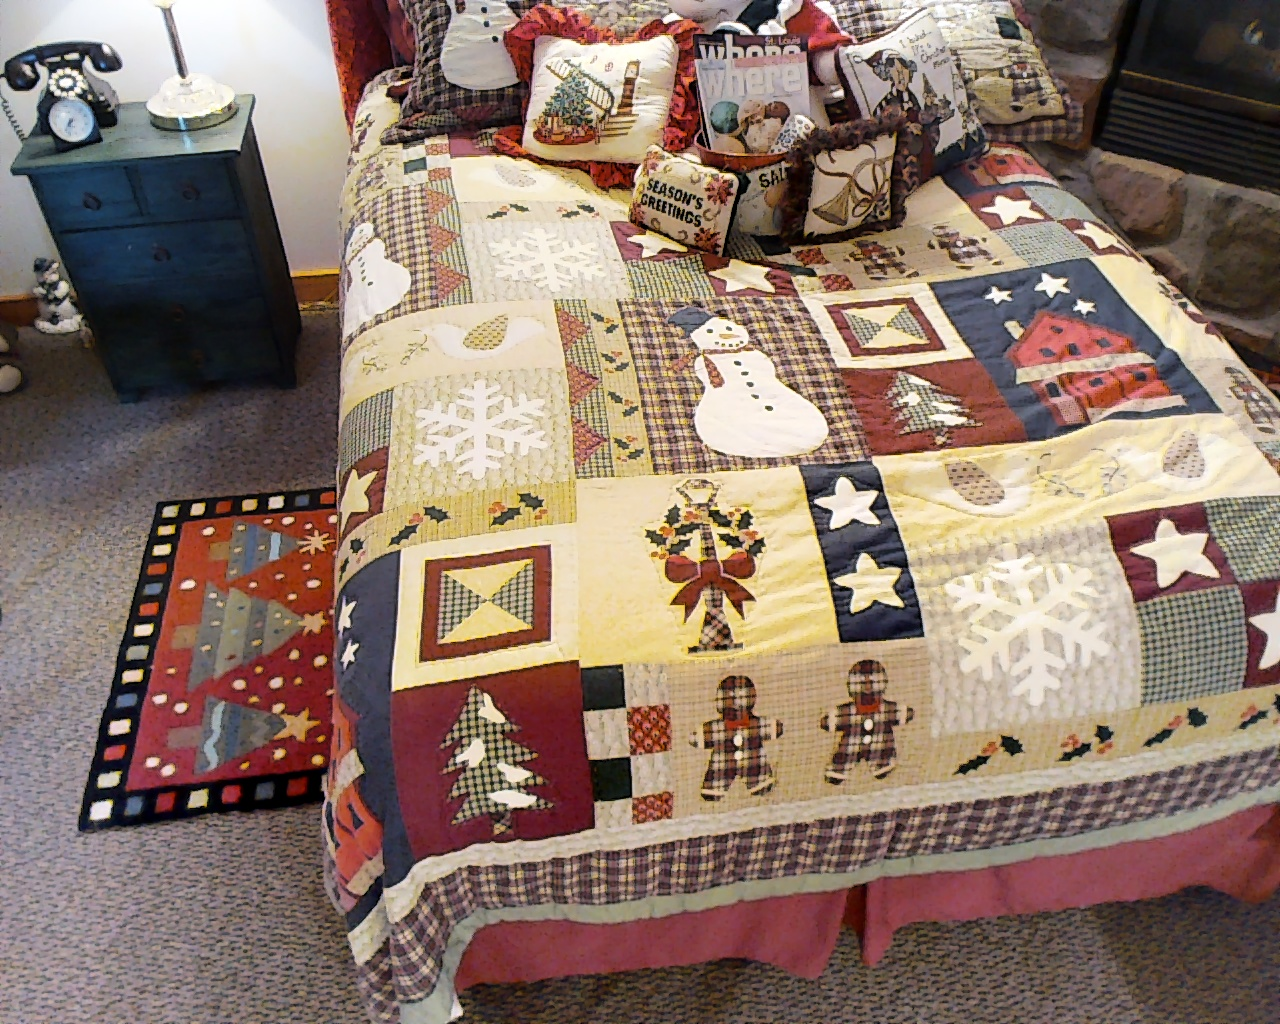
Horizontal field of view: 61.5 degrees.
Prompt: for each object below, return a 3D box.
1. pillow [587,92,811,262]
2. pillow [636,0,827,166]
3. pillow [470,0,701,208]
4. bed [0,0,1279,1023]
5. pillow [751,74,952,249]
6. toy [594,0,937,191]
[{"bbox_3d":[0.100,-0.580,1.840,0.270,0.130,0.270,26,48,25],"label":"pillow"},{"bbox_3d":[0.160,-0.750,1.850,0.250,0.190,0.120,10,43,-50],"label":"pillow"},{"bbox_3d":[-0.100,-0.770,1.950,0.340,0.250,0.080,50,23,-2],"label":"pillow"},{"bbox_3d":[0.200,-0.520,1.710,1.420,1.490,2.120,-6,43,-7],"label":"bed"},{"bbox_3d":[0.350,-0.590,1.800,0.290,0.180,0.140,-24,48,-25],"label":"pillow"},{"bbox_3d":[0.200,-0.910,1.930,0.320,0.390,0.580,-22,47,-23],"label":"toy"}]
